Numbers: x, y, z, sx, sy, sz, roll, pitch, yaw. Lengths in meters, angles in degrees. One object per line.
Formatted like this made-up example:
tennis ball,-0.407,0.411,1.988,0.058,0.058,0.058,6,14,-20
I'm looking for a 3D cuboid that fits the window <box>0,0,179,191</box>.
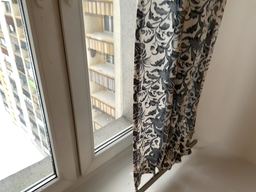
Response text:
window,-0.320,-0.300,0.570,1.390,1.760,0.160,-24,-143,-38
